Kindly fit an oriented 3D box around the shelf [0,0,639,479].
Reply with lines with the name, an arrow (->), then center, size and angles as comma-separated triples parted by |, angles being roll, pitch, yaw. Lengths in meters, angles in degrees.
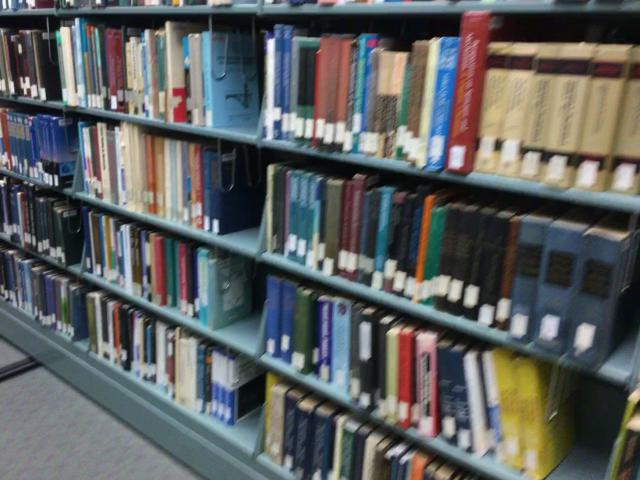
shelf -> 0.090, -0.420, 1.750 | 3.860, 2.720, 1.490 | 13, 17, 34
